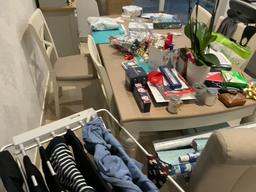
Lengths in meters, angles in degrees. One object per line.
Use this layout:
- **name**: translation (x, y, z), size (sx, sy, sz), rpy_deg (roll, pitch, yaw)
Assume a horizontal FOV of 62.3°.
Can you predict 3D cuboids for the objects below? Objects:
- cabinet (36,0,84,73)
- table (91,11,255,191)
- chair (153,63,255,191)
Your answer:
- **cabinet**: translation (-0.920, -0.950, 3.000), size (0.440, 0.820, 0.980), rpy_deg (-7, 38, -11)
- **table**: translation (0.190, -0.140, 1.980), size (0.920, 0.770, 1.730), rpy_deg (-6, 37, -9)
- **chair**: translation (0.460, 0.370, 1.200), size (0.450, 0.910, 0.610), rpy_deg (-2, 37, -5)
